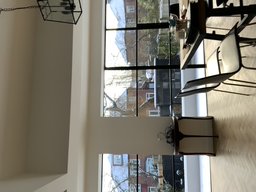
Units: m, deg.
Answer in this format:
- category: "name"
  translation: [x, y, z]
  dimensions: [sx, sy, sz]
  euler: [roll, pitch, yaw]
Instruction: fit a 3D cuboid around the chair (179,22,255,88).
- category: "chair"
  translation: [0.940, -0.350, 1.950]
  dimensions: [0.440, 0.850, 0.470]
  euler: [60, -150, -81]
